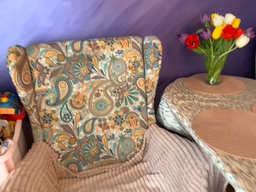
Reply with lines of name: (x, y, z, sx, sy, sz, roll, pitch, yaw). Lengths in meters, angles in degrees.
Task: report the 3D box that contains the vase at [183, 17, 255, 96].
vase: (0.550, -0.250, 1.330, 0.330, 0.430, 0.210, -3, 24, -2)
